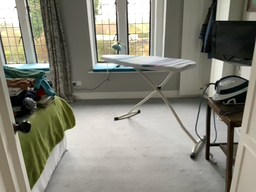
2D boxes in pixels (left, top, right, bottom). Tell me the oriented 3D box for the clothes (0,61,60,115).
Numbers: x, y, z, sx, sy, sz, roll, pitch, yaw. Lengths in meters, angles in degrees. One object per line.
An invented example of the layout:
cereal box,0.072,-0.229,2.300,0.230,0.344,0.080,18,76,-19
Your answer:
clothes,-0.960,-0.080,1.790,0.610,0.340,0.410,-2,20,-1
